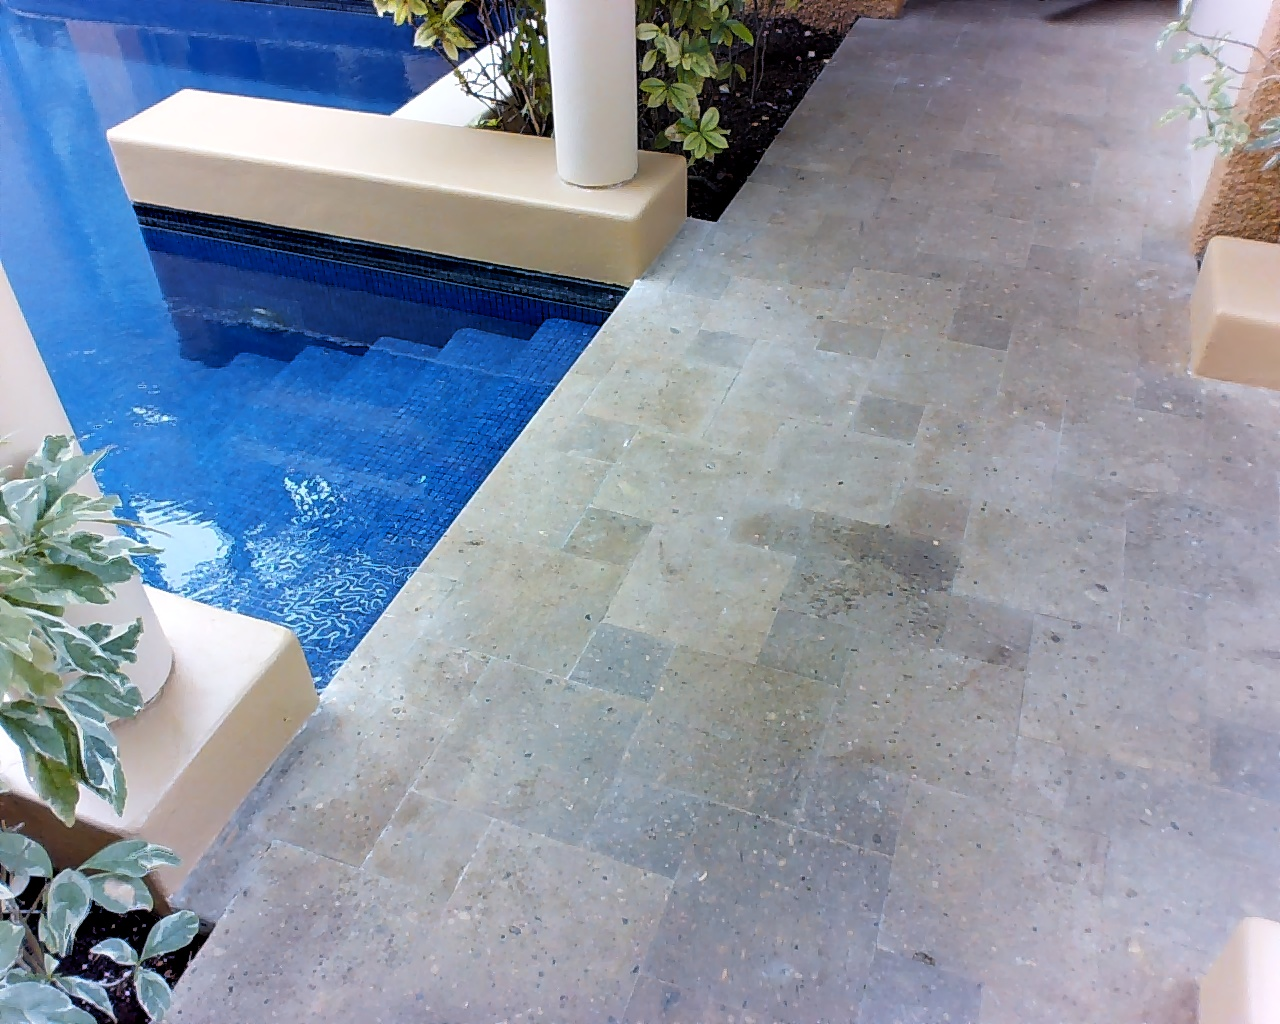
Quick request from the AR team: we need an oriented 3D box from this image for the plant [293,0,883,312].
[{"bbox_3d":[0.060,-1.900,3.750,1.190,1.090,2.500,14,44,16],"label":"plant"}]
